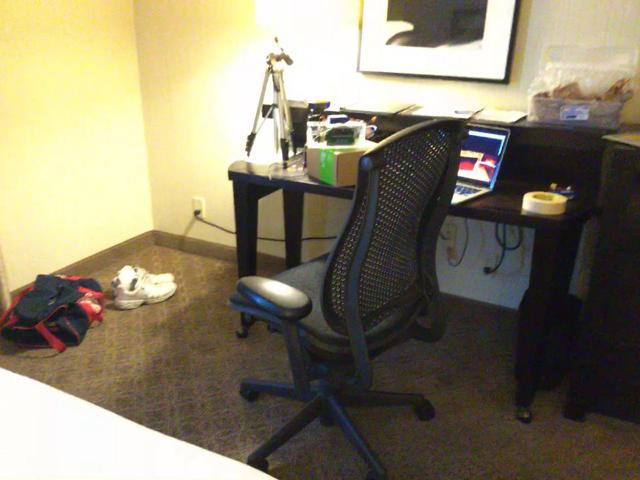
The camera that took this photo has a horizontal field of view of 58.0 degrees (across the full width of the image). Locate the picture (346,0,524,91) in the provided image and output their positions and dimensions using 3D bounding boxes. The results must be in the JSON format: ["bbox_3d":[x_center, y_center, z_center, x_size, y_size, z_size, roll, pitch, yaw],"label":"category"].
[{"bbox_3d":[0.440,-1.060,2.240,0.700,0.890,0.070,12,25,27],"label":"picture"}]

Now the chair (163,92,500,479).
[{"bbox_3d":[0.050,0.160,1.760,0.650,1.070,0.660,15,26,33],"label":"chair"}]
